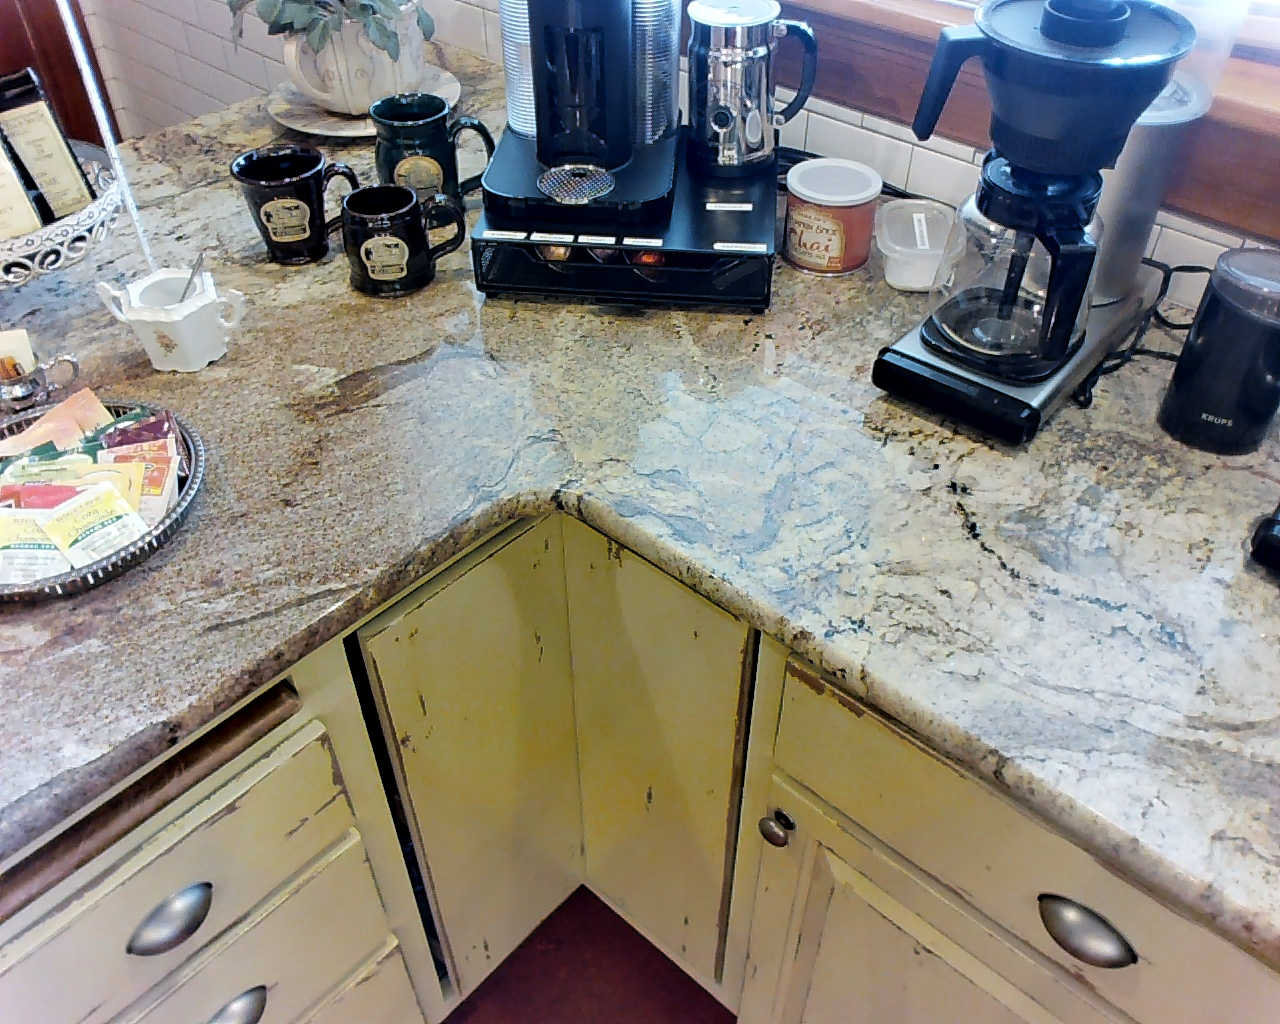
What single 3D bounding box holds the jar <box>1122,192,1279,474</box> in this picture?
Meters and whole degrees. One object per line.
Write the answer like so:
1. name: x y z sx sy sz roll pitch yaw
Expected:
1. jar: 0.540 -0.160 0.960 0.120 0.180 0.130 29 50 28
